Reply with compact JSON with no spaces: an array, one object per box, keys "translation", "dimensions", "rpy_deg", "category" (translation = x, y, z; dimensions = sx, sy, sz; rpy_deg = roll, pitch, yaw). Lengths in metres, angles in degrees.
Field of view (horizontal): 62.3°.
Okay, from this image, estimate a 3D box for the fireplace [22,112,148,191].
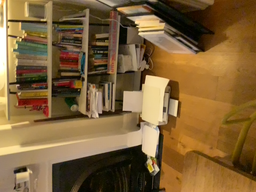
[{"translation":[-0.470,1.060,2.410],"dimensions":[0.490,1.220,1.560],"rpy_deg":[19,108,54],"category":"fireplace"}]
